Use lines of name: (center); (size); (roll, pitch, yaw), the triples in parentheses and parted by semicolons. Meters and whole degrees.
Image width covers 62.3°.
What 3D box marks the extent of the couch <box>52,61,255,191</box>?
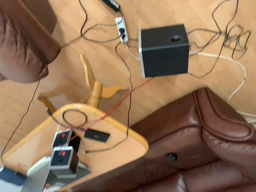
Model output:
couch: (0.290, 0.840, 1.950); (1.080, 0.930, 2.020); (35, 128, -30)
